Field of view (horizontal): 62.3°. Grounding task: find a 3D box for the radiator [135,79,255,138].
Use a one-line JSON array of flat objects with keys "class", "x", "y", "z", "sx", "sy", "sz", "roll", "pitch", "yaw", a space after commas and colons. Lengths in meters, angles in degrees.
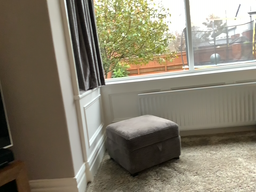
[{"class": "radiator", "x": 0.890, "y": 0.160, "z": 2.700, "sx": 1.540, "sy": 0.580, "sz": 0.140, "roll": -6, "pitch": 9, "yaw": 3}]
